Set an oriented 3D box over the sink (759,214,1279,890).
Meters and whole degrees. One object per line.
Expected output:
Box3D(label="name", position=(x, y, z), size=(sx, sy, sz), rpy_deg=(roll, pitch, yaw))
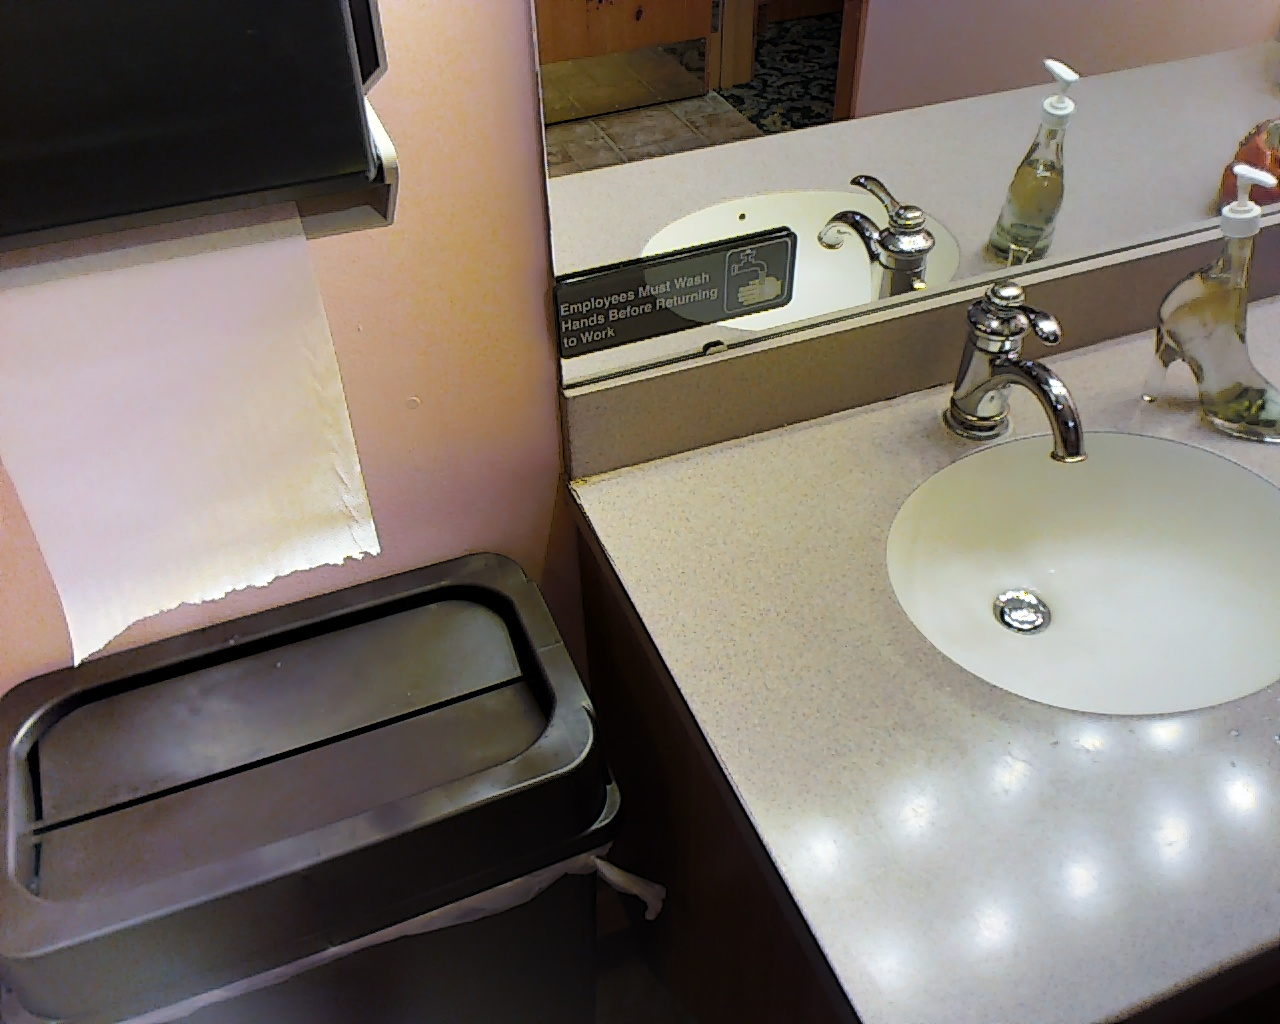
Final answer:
Box3D(label="sink", position=(0.390, 0.010, 0.980), size=(0.400, 0.330, 0.410), rpy_deg=(-17, 45, -16))
